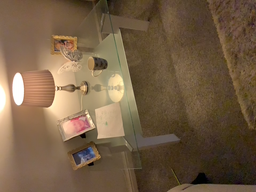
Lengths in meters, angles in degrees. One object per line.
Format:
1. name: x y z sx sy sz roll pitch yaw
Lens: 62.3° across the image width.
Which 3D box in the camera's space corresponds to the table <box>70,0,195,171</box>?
1. table: -0.040 -0.050 1.600 0.690 0.390 1.090 -25 73 49
